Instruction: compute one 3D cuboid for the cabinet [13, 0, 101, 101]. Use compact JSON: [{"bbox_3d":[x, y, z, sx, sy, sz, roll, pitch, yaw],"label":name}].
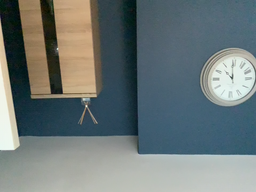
[{"bbox_3d":[-0.500,-0.420,1.600,0.510,0.870,0.290,-1,-166,1],"label":"cabinet"}]
